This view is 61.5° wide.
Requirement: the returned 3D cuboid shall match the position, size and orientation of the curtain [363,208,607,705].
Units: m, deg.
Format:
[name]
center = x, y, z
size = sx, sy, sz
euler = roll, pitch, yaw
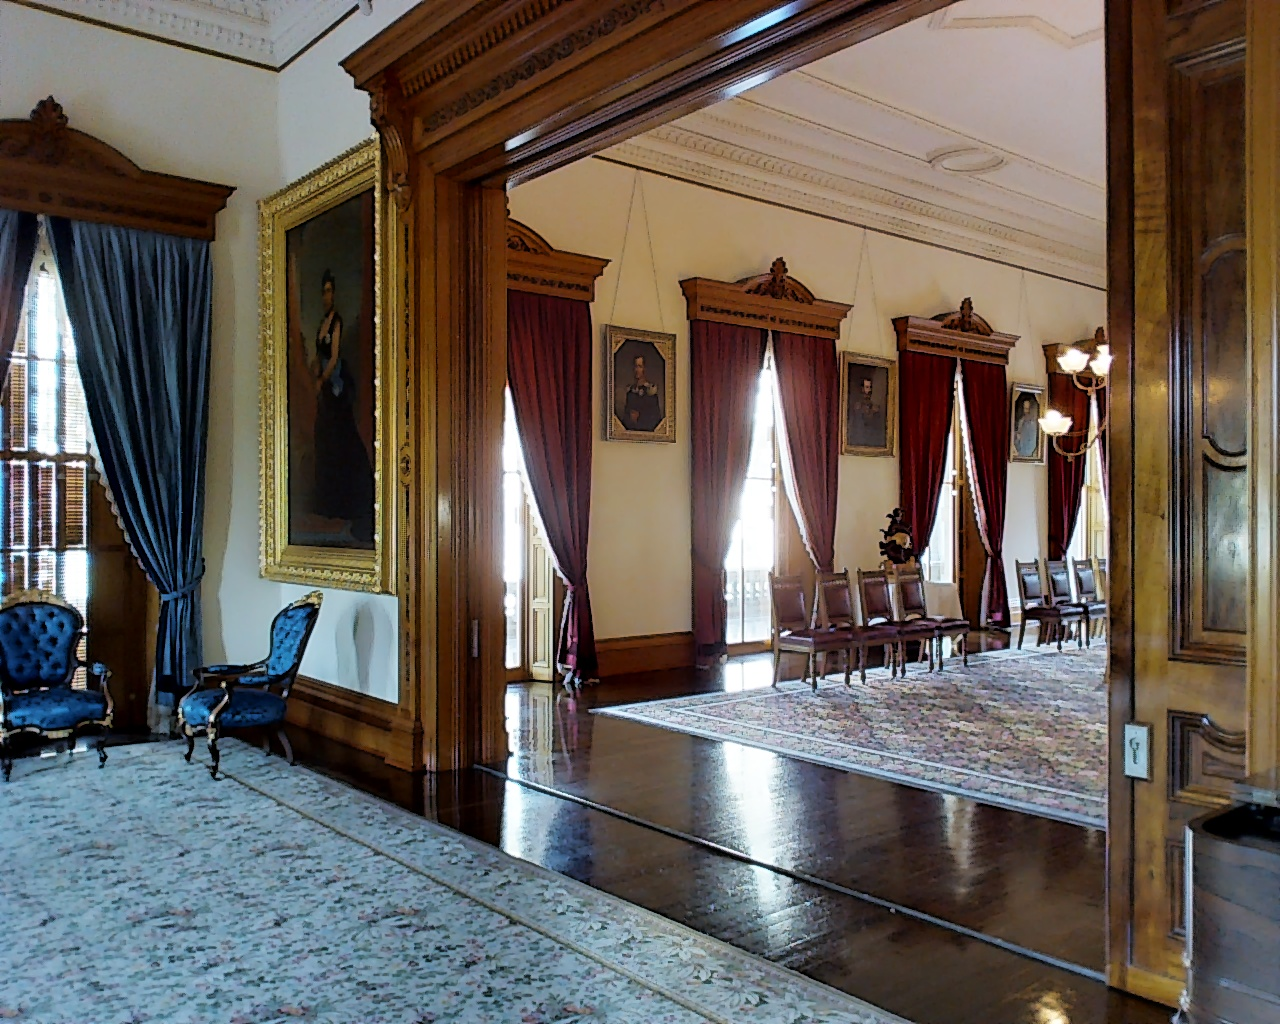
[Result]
[curtain]
center = -1.300, -0.450, 9.560
size = 2.370, 4.031, 0.230
euler = 0, 0, -39
